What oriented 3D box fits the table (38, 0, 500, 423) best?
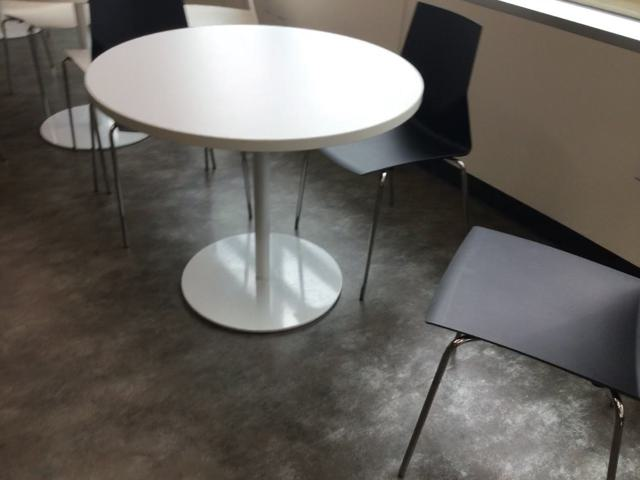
[{"bbox_3d":[-0.200,-0.210,1.790,0.930,0.800,0.920,-16,37,-29],"label":"table"}]
